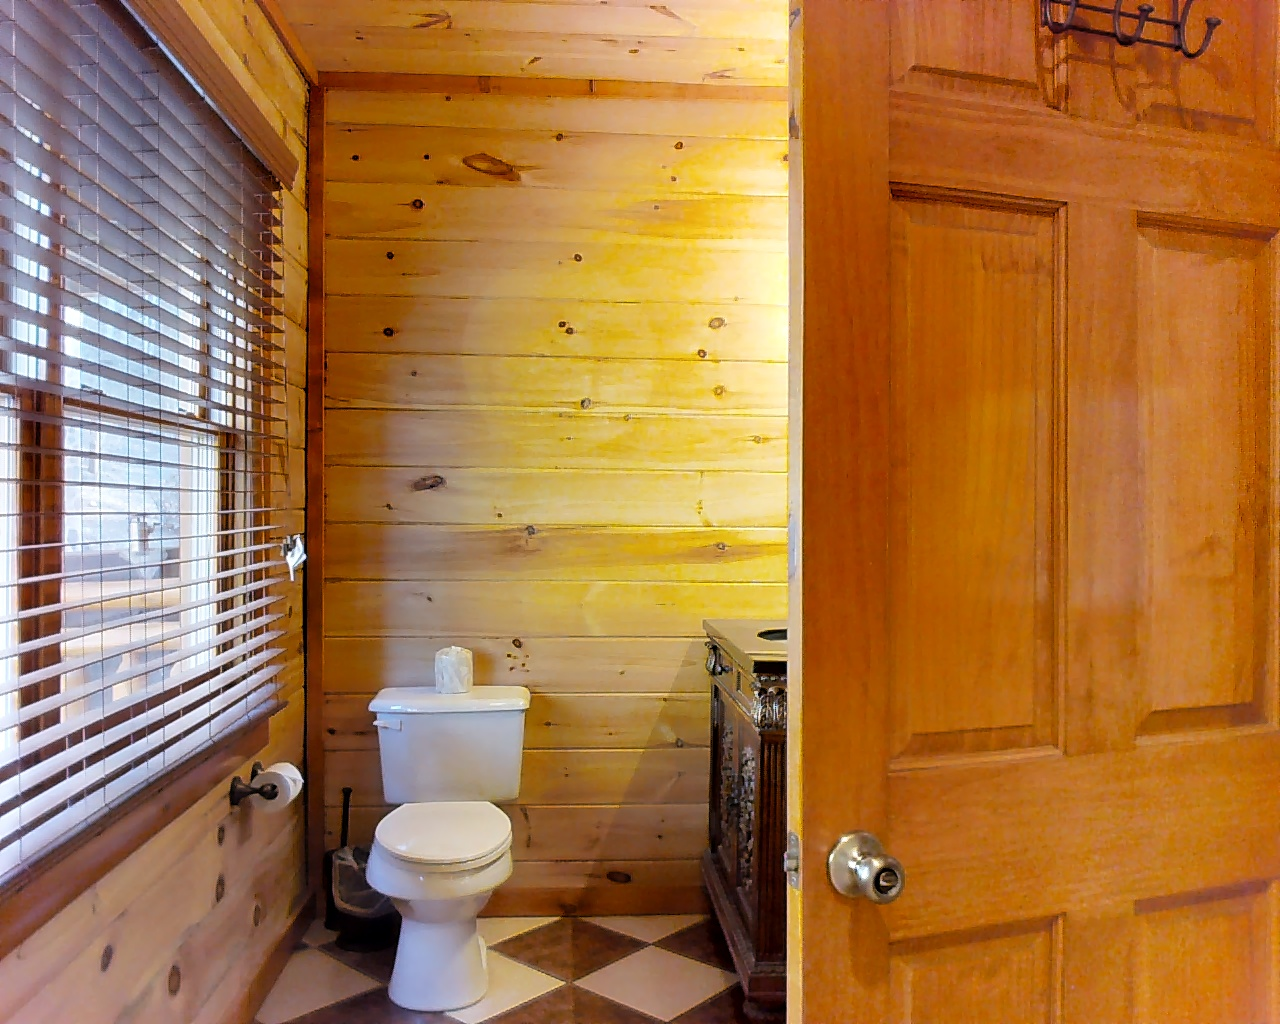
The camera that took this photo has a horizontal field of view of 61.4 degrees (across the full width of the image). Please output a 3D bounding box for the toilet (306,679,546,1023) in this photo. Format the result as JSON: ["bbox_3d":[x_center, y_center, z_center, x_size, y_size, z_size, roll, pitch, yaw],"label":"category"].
[{"bbox_3d":[-0.540,0.870,2.950,0.550,0.700,0.790,0,0,-4],"label":"toilet"}]
